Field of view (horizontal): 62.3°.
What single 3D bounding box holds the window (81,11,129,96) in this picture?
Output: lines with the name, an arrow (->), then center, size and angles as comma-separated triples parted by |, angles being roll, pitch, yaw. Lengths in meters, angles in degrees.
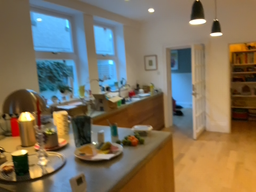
window -> -0.460, -0.890, 4.690 | 0.350, 1.650, 1.070 | 1, 9, 32

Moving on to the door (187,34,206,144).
door -> 1.490, -0.160, 4.550 | 0.140, 2.180, 0.830 | 2, 9, 34

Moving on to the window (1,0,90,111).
window -> -1.230, -0.670, 3.450 | 0.260, 1.560, 1.250 | 1, 10, 33
